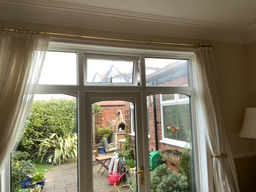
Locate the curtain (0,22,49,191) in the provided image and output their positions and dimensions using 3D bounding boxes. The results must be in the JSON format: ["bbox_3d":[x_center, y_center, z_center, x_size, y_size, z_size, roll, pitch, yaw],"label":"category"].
[{"bbox_3d":[-1.090,0.540,1.990,0.650,2.430,0.210,0,-5,-20],"label":"curtain"}]

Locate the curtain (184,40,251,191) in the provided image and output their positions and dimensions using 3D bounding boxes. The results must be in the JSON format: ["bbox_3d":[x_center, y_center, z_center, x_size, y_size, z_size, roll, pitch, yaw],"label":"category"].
[{"bbox_3d":[1.190,0.580,2.810,0.710,2.590,0.240,-1,-4,-13],"label":"curtain"}]
